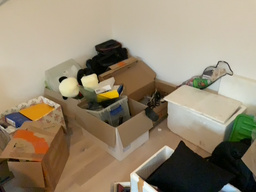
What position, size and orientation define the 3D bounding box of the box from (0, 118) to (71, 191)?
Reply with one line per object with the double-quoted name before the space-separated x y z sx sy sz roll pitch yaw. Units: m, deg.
"box" -0.760 0.510 1.720 0.380 0.370 0.500 -19 33 -25
